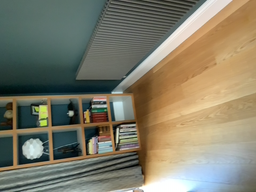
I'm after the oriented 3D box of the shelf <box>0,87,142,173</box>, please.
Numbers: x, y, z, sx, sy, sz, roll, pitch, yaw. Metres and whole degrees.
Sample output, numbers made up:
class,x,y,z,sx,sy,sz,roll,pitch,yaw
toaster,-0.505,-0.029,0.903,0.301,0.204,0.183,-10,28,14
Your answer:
class,x,y,z,sx,sy,sz,roll,pitch,yaw
shelf,-0.900,0.430,2.990,0.460,2.070,0.980,145,120,-61
